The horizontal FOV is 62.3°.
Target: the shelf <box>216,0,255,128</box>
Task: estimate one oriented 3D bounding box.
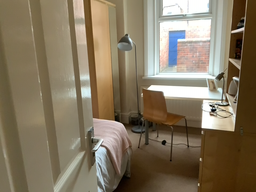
[{"bbox_3d":[0.950,-0.400,1.700,0.320,1.050,0.840,3,16,17],"label":"shelf"}]

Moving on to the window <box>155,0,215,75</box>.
[{"bbox_3d":[0.890,-1.210,3.400,0.900,1.710,0.190,4,16,23],"label":"window"}]

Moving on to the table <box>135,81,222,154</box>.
[{"bbox_3d":[0.700,0.230,2.950,1.030,0.750,0.640,3,16,20],"label":"table"}]
